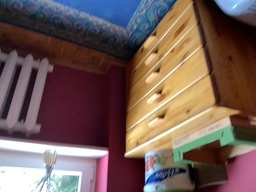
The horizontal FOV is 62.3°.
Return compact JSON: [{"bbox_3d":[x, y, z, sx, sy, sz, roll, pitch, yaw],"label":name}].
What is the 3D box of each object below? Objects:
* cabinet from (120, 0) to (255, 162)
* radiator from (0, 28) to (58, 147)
[{"bbox_3d":[0.320,-0.090,1.390,0.420,0.830,0.850,13,149,-23],"label":"cabinet"},{"bbox_3d":[-0.820,-0.070,1.470,0.510,0.730,0.280,11,149,-21],"label":"radiator"}]
